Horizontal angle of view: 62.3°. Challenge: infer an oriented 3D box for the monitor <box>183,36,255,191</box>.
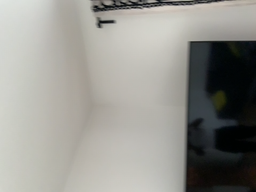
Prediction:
[{"bbox_3d":[0.770,0.200,1.480,0.080,0.710,1.250,35,-125,-75],"label":"monitor"}]
